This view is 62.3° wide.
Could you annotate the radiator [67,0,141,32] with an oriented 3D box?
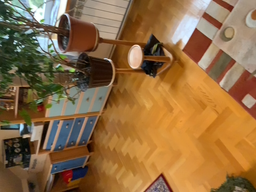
[{"bbox_3d":[-0.180,-1.140,2.230,0.160,0.730,0.850,57,135,35],"label":"radiator"}]
